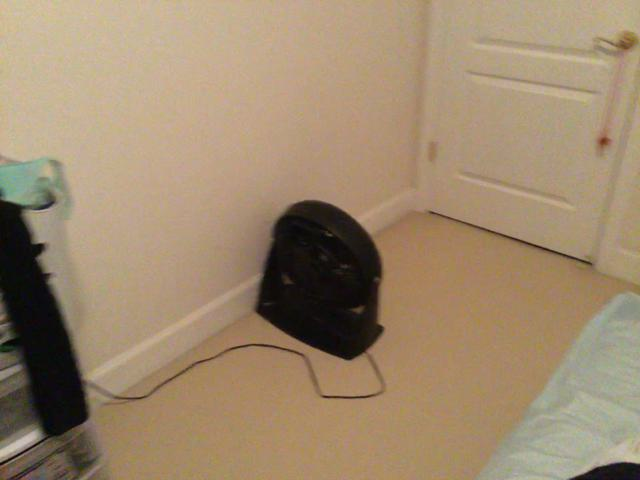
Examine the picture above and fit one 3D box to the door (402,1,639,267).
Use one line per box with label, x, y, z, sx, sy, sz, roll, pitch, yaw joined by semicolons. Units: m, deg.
door;0.760;-0.450;2.400;0.890;0.940;0.110;22;39;35
